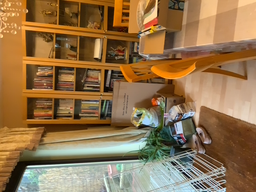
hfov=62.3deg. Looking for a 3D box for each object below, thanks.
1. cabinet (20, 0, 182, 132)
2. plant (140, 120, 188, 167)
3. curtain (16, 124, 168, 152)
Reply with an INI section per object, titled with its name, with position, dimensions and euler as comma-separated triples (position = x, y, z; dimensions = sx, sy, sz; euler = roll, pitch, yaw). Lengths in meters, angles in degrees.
[cabinet]
position = -0.320, -0.810, 2.870
dimensions = 0.370, 2.010, 2.530
euler = -150, 63, -73
[plant]
position = 0.450, 0.600, 2.770
dimensions = 0.450, 0.420, 0.450
euler = -147, 60, -72
[curtain]
position = -0.400, 0.520, 2.760
dimensions = 0.400, 1.820, 0.180
euler = -146, 59, -71
